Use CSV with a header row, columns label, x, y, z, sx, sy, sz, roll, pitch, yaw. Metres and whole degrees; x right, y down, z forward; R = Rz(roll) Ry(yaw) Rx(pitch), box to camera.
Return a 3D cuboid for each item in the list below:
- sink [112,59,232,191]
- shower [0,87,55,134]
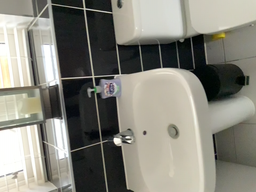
label,x,y,z,sx,sy,sz,roll,pitch,yaw
sink,0.160,0.160,0.890,0.420,0.180,0.550,-5,93,52
shower,-0.520,0.070,0.900,0.180,0.340,0.160,-10,89,53
